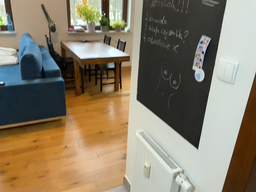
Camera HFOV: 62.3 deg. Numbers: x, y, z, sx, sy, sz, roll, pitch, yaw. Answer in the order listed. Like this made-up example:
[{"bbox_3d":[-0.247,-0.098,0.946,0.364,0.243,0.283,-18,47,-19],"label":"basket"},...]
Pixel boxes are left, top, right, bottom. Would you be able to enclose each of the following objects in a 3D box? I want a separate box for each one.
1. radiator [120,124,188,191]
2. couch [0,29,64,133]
[{"bbox_3d":[0.110,0.610,1.350,0.120,0.680,0.530,-7,25,-23],"label":"radiator"},{"bbox_3d":[-1.720,-0.430,3.310,1.000,0.930,2.170,-7,26,-24],"label":"couch"}]
